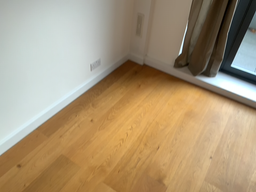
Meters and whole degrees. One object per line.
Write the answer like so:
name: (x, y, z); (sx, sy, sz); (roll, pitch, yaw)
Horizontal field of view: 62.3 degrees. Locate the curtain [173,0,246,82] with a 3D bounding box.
curtain: (0.820, -1.070, 1.700); (0.430, 2.130, 0.150); (26, 46, 21)
